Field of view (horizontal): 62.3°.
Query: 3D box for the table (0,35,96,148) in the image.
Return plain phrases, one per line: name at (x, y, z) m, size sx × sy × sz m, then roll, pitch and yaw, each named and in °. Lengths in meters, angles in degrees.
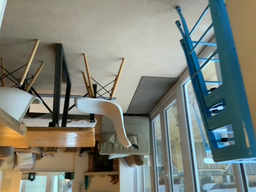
table at (-1.210, 0.030, 1.990) m, size 1.770 × 0.790 × 0.930 m, roll 2°, pitch 160°, yaw -8°
